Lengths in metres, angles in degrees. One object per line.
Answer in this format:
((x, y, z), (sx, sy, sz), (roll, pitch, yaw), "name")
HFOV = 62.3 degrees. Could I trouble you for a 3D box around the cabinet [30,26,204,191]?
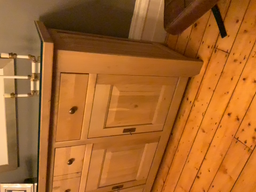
((-0.230, 0.440, 1.680), (0.530, 0.950, 1.700), (48, 132, 51), "cabinet")
